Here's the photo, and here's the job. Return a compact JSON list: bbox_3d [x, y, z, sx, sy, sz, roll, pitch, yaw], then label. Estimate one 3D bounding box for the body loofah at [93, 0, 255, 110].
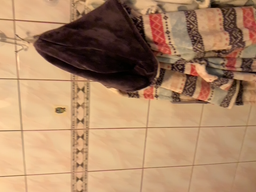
[{"bbox_3d":[0.440,-0.160,0.820,0.220,1.120,0.370,-123,36,-69],"label":"body loofah"}]
